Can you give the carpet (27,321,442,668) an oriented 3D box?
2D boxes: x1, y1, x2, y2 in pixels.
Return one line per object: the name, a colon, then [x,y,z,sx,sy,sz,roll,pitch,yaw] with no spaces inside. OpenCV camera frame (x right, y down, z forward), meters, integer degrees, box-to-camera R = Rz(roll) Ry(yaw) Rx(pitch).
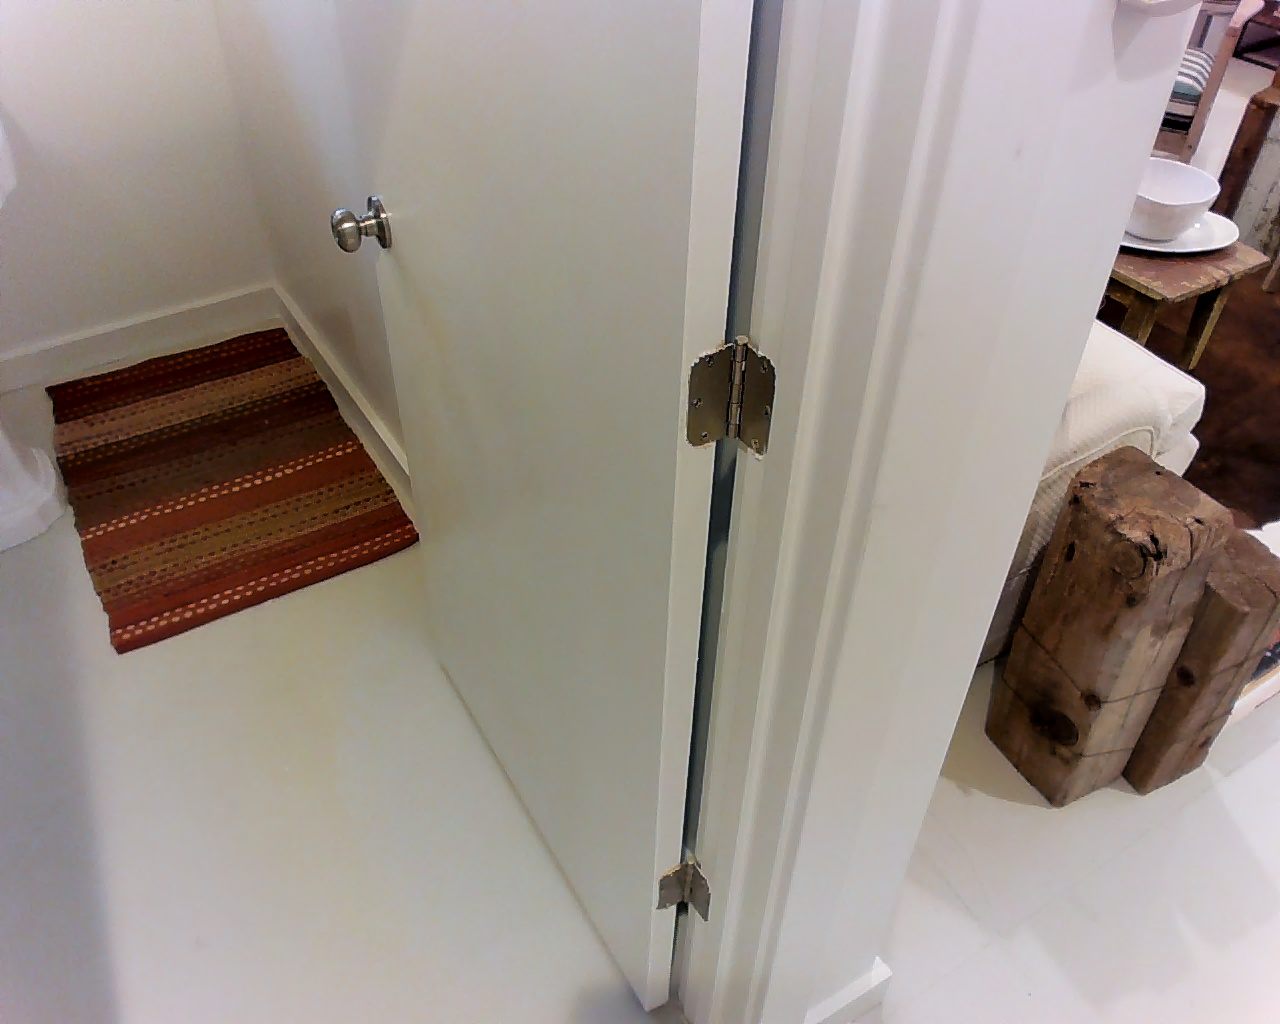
carpet: [-0.960,-0.110,2.460,0.640,0.030,0.990,-23,47,-25]
